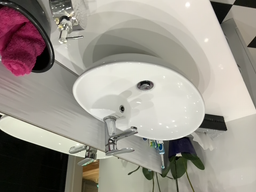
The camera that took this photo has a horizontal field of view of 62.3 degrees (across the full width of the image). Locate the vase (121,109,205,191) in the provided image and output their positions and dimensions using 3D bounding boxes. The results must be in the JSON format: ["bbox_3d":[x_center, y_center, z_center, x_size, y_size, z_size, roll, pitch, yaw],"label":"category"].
[{"bbox_3d":[0.180,0.450,1.110,0.360,0.650,0.230,-20,143,25],"label":"vase"}]
